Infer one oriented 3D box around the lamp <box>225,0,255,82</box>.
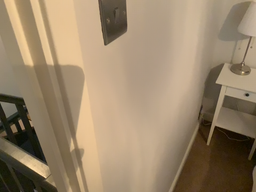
[{"bbox_3d":[0.890,-0.400,1.540,0.190,0.530,0.220,17,39,26],"label":"lamp"}]
